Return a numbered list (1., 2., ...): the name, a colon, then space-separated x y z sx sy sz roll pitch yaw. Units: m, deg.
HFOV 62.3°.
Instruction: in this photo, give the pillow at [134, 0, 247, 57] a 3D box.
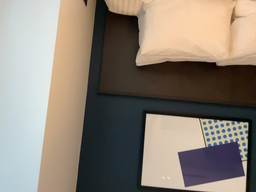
1. pillow: 0.400 -0.470 1.460 0.670 0.370 0.240 5 -168 16
